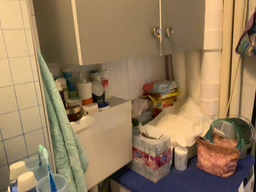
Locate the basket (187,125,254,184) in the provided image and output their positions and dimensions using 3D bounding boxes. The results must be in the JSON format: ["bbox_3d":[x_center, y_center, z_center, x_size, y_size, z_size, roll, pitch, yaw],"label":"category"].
[{"bbox_3d":[0.500,0.290,1.140,0.310,0.130,0.220,-18,20,-42],"label":"basket"}]
